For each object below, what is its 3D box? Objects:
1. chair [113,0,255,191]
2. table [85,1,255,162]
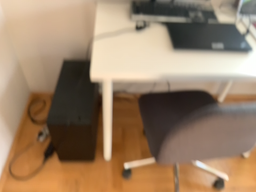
[{"bbox_3d":[0.270,0.080,1.060,0.590,0.880,0.620,-5,47,-10],"label":"chair"},{"bbox_3d":[0.320,-0.060,1.300,1.040,0.740,0.600,0,46,-5],"label":"table"}]
